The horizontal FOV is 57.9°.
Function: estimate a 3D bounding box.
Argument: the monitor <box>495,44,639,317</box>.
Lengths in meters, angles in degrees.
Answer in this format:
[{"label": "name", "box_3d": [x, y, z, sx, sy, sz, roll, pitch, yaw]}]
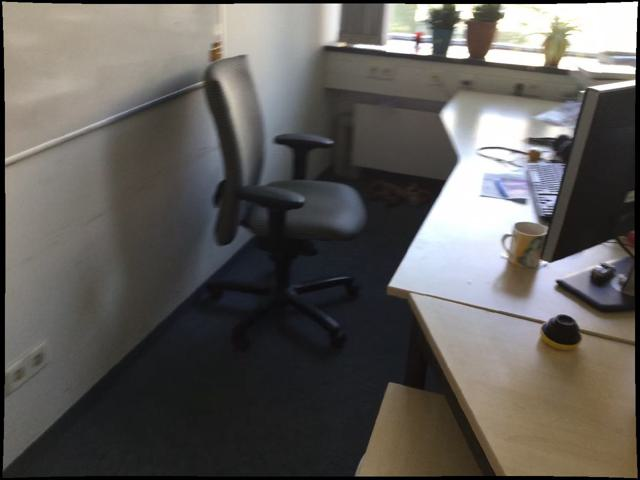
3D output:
[{"label": "monitor", "box_3d": [0.679, -0.160, 1.300, 0.510, 0.480, 0.200, -20, 36, -30]}]
